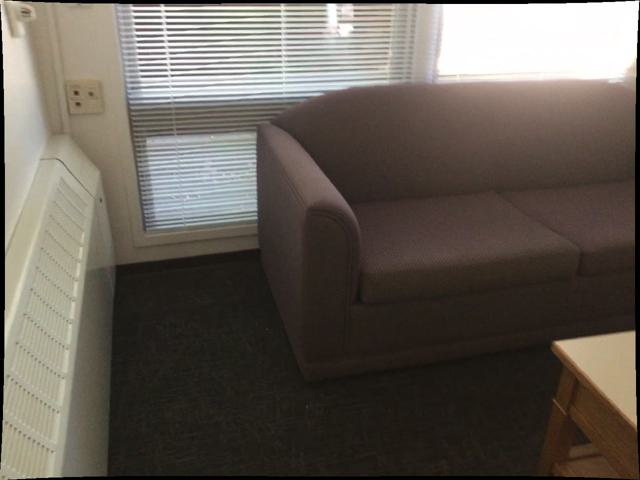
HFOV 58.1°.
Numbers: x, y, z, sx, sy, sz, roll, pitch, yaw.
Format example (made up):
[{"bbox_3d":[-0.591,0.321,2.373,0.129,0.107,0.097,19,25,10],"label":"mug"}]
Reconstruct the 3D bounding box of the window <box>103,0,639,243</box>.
[{"bbox_3d":[0.399,-1.102,2.240,2.376,1.992,0.470,-7,30,-16],"label":"window"}]

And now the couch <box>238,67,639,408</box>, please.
[{"bbox_3d":[0.669,-0.140,2.220,1.797,0.771,0.930,-7,30,-16],"label":"couch"}]
